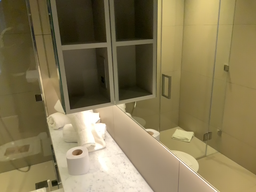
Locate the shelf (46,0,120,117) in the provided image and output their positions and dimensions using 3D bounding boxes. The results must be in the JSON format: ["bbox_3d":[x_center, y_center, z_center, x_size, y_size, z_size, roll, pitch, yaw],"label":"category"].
[{"bbox_3d":[-0.220,-0.480,0.900,0.230,1.080,0.280,-11,21,-23],"label":"shelf"}]
